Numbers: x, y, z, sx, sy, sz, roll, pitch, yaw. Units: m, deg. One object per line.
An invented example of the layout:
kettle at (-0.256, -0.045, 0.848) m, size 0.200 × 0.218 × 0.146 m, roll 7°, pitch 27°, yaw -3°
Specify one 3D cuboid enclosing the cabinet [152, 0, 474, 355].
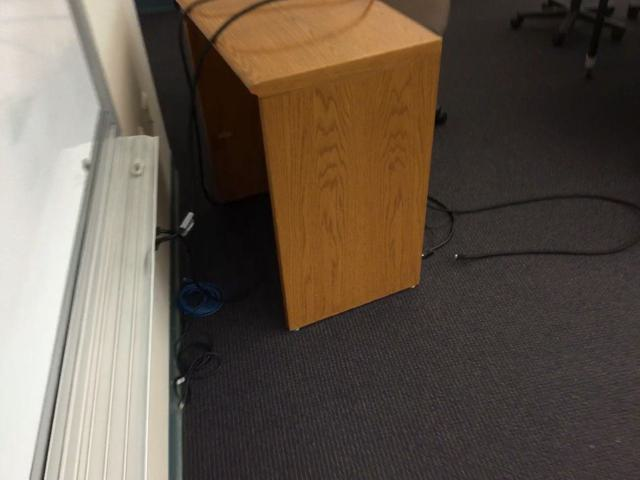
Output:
cabinet at (-0.050, -0.310, 1.810) m, size 0.560 × 0.840 × 0.840 m, roll -21°, pitch 43°, yaw -16°
